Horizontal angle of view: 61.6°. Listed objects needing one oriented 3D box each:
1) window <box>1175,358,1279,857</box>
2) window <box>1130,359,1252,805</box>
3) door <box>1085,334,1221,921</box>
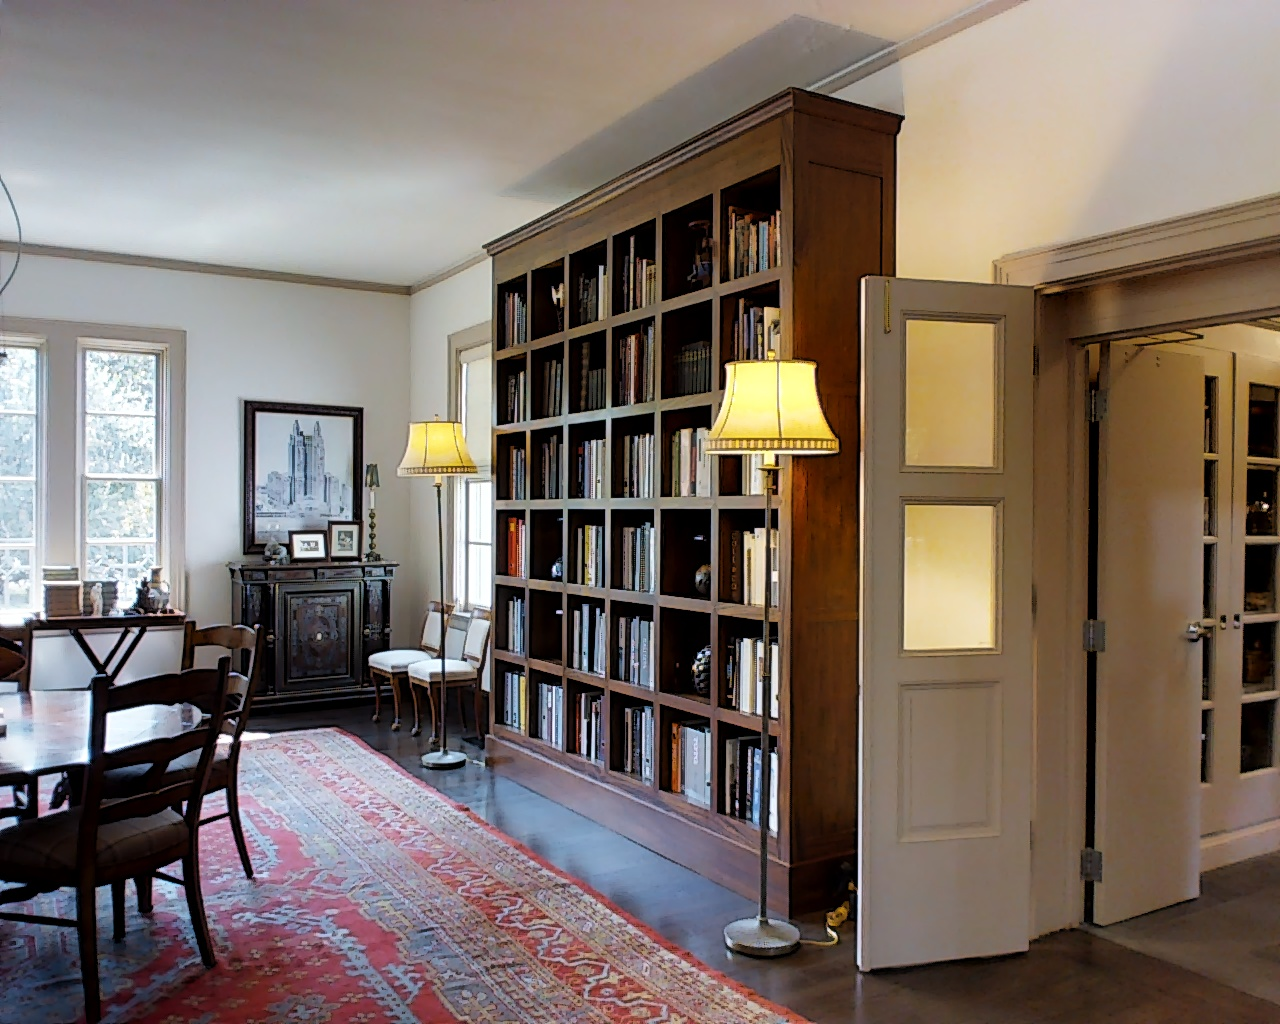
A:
[{"bbox_3d":[2.980,0.420,5.080,1.040,2.180,0.280,0,0,-32],"label":"window"},{"bbox_3d":[2.310,0.280,4.480,0.720,1.770,0.080,0,0,-32],"label":"window"},{"bbox_3d":[1.960,0.420,4.080,0.710,2.120,0.060,0,0,-31],"label":"door"}]
